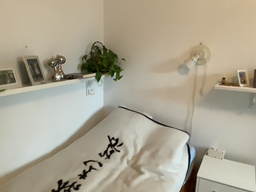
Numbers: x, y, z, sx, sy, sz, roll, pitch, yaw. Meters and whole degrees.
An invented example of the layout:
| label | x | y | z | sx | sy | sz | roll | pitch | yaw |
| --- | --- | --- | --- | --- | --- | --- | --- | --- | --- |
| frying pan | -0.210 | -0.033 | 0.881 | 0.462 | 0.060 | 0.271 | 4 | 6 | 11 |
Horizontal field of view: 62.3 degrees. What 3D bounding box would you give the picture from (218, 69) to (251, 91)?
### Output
| label | x | y | z | sx | sy | sz | roll | pitch | yaw |
| --- | --- | --- | --- | --- | --- | --- | --- | --- | --- |
| picture | 0.850 | -0.130 | 1.700 | 0.220 | 0.150 | 0.080 | 8 | 15 | 29 |
